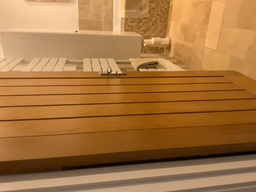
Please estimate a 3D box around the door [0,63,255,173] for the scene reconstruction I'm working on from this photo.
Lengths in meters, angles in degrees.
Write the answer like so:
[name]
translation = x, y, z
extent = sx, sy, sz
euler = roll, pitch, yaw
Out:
[door]
translation = -0.080, -0.010, 1.100
extent = 0.940, 1.930, 0.070
euler = -115, 26, -63
